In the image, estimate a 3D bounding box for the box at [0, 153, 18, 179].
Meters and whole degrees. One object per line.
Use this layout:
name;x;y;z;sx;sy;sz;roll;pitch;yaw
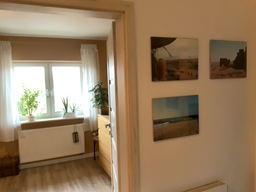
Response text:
box;-2.160;1.240;3.740;0.370;0.320;0.280;-4;5;-26

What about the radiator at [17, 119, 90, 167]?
radiator;-1.440;0.890;4.200;1.280;0.710;0.280;-4;5;-24
